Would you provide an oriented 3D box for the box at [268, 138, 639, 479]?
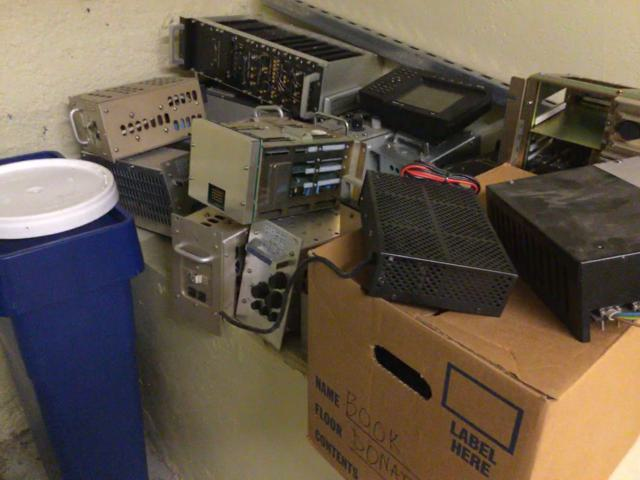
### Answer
[{"bbox_3d":[0.260,0.130,0.810,0.530,0.380,0.380,-21,36,-40],"label":"box"}]

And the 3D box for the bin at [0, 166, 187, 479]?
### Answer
[{"bbox_3d":[-0.550,0.310,1.310,0.350,0.840,0.320,-21,36,-40],"label":"bin"}]
